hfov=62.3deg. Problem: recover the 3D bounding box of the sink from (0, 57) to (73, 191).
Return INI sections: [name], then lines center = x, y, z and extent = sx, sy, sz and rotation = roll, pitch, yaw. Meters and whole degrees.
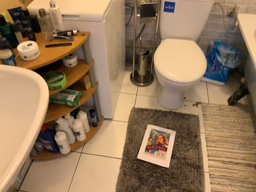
[sink]
center = -0.470, 0.140, 0.620
extent = 0.410, 0.190, 0.580
rotation = 7, 48, 6
